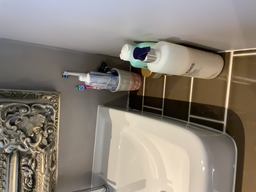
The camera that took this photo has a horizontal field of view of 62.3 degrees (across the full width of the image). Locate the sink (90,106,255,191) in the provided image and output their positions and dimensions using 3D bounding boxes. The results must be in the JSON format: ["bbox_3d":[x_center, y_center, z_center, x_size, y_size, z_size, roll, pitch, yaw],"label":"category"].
[{"bbox_3d":[0.060,0.330,0.600,0.440,0.160,0.550,9,95,55],"label":"sink"}]
